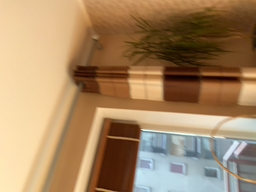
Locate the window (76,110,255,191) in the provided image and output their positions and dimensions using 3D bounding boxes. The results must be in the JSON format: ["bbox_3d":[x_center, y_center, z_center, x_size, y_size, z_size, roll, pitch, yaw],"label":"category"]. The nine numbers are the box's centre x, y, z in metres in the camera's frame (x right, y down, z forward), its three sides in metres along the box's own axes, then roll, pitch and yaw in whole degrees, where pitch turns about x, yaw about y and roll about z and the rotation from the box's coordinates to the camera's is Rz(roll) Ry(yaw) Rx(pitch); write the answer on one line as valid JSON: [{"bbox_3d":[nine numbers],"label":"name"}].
[{"bbox_3d":[0.450,0.630,1.230,0.190,1.530,1.030,72,-155,-57],"label":"window"}]
